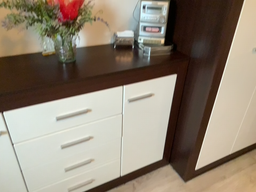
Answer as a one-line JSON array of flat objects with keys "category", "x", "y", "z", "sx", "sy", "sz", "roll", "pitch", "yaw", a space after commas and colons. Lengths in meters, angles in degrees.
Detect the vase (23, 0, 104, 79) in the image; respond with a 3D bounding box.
[{"category": "vase", "x": -0.320, "y": -0.330, "z": 1.090, "sx": 0.330, "sy": 0.380, "sz": 0.210, "roll": -13, "pitch": 36, "yaw": -24}]
